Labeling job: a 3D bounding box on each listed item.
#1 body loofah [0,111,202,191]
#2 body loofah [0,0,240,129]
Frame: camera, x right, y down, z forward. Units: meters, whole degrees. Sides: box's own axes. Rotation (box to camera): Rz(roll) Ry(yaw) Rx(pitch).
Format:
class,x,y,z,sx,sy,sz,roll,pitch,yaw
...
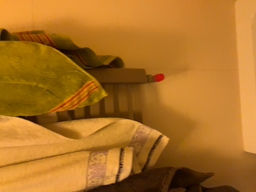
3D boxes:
class,x,y,z,sx,sy,sz,roll,pitch,yaw
body loofah,-0.210,0.180,0.630,0.220,0.870,0.230,169,99,-68
body loofah,-0.250,-0.080,0.550,0.340,1.050,0.290,172,96,-68
